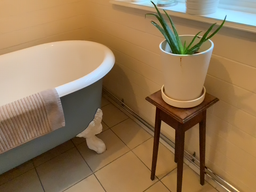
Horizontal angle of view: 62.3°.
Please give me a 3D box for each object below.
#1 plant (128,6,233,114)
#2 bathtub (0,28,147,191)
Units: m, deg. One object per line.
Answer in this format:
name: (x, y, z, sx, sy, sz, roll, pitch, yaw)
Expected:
plant: (0.200, -0.170, 0.890, 0.240, 0.320, 0.300, -28, 40, -29)
bathtub: (-0.850, 0.220, 1.280, 1.790, 0.670, 0.840, -26, 39, -27)
